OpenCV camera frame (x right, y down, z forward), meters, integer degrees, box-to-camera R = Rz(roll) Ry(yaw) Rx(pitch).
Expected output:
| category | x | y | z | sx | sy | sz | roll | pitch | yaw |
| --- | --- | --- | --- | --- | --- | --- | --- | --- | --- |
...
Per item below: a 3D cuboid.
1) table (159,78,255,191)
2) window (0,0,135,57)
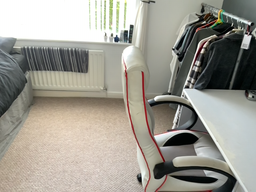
| category | x | y | z | sx | sy | sz | roll | pitch | yaw |
| --- | --- | --- | --- | --- | --- | --- | --- | --- | --- |
| table | 0.690 | 0.500 | 1.270 | 0.670 | 0.740 | 1.250 | 2 | 29 | -5 |
| window | -1.030 | -1.160 | 2.260 | 2.230 | 1.330 | 0.150 | 4 | 29 | -2 |
